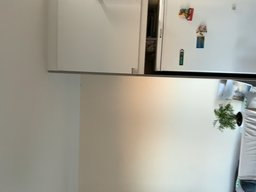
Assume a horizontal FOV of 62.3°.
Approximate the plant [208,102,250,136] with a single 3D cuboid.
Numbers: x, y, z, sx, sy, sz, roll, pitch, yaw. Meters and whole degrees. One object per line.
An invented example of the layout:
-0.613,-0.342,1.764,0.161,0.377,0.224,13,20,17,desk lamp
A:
0.940,0.210,2.000,0.210,0.270,0.260,-70,-17,-82,plant
